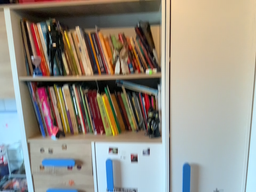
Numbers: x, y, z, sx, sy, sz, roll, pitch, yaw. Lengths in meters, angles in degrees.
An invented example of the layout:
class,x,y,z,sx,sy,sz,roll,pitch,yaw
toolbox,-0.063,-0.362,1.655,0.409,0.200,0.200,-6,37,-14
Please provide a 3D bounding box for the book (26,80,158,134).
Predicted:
class,x,y,z,sx,sy,sz,roll,pitch,yaw
book,-0.190,0.060,1.340,0.740,0.270,0.300,-1,11,5

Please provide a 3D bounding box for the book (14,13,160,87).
class,x,y,z,sx,sy,sz,roll,pitch,yaw
book,-0.200,-0.260,1.250,0.740,0.350,0.320,-1,11,3
